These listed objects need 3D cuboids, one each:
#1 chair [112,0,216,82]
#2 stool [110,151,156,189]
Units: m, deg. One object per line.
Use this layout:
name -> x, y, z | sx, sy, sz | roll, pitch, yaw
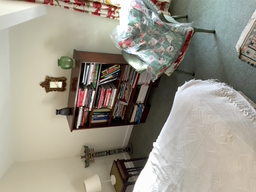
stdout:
chair -> 0.290, -0.590, 2.110 | 0.660, 0.620, 0.610 | -116, 36, -42
stool -> 0.060, 0.990, 2.860 | 0.320, 0.480, 0.270 | -122, 40, -47
